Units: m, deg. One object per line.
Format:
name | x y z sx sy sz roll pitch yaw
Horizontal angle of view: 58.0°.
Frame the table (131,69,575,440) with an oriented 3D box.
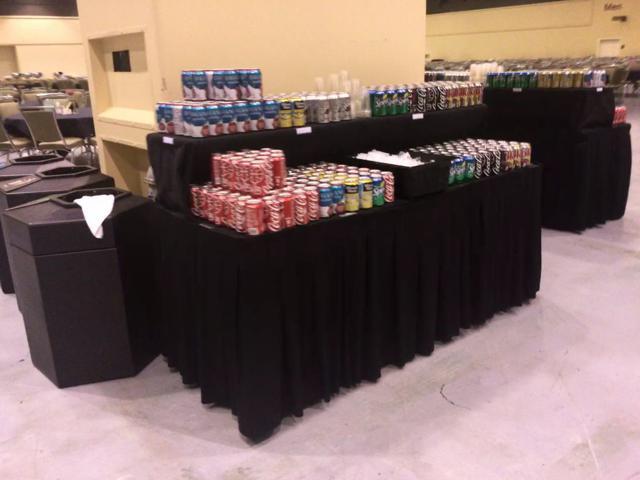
table | 0.260 -0.130 2.680 1.800 1.030 0.860 -20 24 -32
